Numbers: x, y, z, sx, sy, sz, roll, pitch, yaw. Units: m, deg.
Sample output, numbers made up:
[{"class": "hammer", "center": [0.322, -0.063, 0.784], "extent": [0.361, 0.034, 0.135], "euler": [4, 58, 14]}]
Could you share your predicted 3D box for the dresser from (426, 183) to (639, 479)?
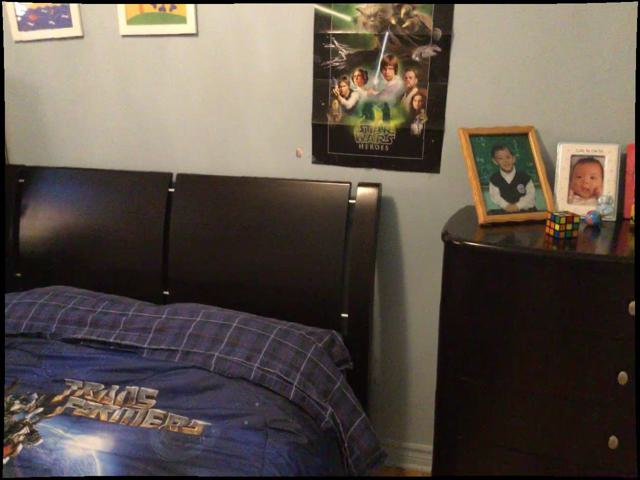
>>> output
[{"class": "dresser", "center": [0.789, 0.410, 1.620], "extent": [0.909, 1.021, 0.480], "euler": [4, 18, 15]}]

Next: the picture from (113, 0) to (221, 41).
[{"class": "picture", "center": [-0.509, -0.841, 1.880], "extent": [0.370, 0.360, 0.030], "euler": [4, 18, 15]}]

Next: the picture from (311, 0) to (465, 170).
[{"class": "picture", "center": [0.200, -0.501, 1.780], "extent": [0.450, 0.551, 0.060], "euler": [4, 18, 15]}]

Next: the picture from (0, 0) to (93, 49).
[{"class": "picture", "center": [-0.969, -0.851, 2.010], "extent": [0.340, 0.350, 0.030], "euler": [4, 18, 15]}]

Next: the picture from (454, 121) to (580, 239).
[{"class": "picture", "center": [0.539, -0.180, 1.630], "extent": [0.290, 0.270, 0.270], "euler": [4, 18, 15]}]

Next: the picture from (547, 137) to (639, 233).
[{"class": "picture", "center": [0.759, -0.160, 1.610], "extent": [0.200, 0.220, 0.200], "euler": [4, 18, 15]}]
